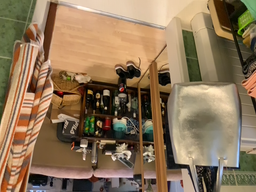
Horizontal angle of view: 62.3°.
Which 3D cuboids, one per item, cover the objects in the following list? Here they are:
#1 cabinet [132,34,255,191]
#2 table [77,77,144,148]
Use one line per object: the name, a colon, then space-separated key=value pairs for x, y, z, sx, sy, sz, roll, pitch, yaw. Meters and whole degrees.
cabinet: x=0.490 y=0.650 z=1.830 sx=0.620 sy=2.080 sz=0.930 roll=8 pitch=154 yaw=-17
table: x=-0.200 y=0.210 z=2.500 sx=0.690 sy=0.700 sz=0.300 roll=8 pitch=153 yaw=-17
